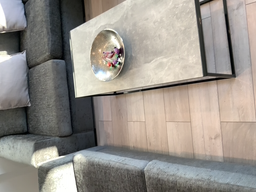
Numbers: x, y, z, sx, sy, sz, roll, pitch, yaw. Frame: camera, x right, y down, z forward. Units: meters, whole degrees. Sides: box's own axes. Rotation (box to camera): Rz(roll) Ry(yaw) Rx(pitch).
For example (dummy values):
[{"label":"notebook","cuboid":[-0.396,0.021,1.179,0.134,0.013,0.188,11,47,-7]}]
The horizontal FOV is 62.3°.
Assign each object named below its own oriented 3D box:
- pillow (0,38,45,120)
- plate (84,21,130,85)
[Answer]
[{"label":"pillow","cuboid":[-1.230,-0.160,2.050,0.270,0.540,0.610,0,64,41]},{"label":"plate","cuboid":[-0.140,-0.250,1.320,0.320,0.050,0.320,-7,88,42]}]
